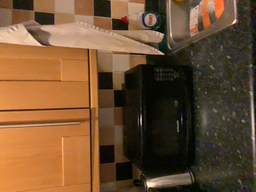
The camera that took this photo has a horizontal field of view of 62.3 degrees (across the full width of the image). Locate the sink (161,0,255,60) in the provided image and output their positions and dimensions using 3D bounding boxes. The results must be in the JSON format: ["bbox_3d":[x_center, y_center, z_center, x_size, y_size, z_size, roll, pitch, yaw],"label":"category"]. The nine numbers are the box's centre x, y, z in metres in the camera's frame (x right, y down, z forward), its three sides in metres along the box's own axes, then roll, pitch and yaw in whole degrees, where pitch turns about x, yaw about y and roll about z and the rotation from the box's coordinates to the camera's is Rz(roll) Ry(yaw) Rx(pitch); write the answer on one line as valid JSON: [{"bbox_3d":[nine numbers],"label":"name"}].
[{"bbox_3d":[0.340,-0.430,0.980,0.500,0.160,0.420,172,97,-73],"label":"sink"}]
